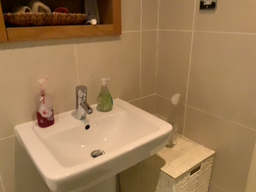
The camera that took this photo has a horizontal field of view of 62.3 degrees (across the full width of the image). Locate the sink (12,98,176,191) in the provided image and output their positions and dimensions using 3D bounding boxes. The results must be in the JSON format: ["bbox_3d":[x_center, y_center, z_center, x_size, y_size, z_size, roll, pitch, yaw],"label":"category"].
[{"bbox_3d":[-0.140,0.200,0.910,0.540,0.160,0.420,-15,25,-35],"label":"sink"}]
